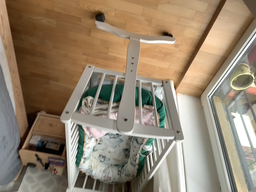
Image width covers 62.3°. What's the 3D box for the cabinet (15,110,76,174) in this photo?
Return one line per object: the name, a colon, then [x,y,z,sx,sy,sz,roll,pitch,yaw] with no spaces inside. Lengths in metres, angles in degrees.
cabinet: [-0.810,0.470,2.180,0.430,0.470,0.350,12,136,-7]
